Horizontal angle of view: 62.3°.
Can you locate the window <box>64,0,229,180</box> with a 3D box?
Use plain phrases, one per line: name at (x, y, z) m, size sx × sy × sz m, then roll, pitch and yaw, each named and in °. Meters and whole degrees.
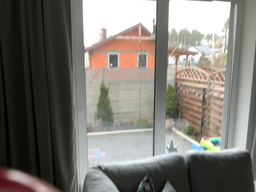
window at (0.260, -0.230, 2.670) m, size 1.960 × 2.420 × 0.220 m, roll -2°, pitch 10°, yaw -12°
